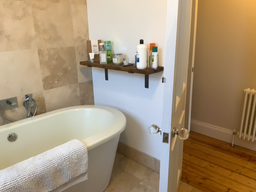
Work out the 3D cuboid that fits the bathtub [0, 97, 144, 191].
[{"bbox_3d":[-0.740,0.600,1.620,0.830,0.630,1.740,14,23,40],"label":"bathtub"}]
